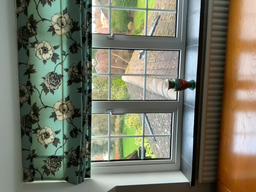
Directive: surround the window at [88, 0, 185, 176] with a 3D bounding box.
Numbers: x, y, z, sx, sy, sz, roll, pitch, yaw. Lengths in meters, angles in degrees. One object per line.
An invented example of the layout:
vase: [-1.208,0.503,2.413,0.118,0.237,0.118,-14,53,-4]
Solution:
window: [0.060,-0.110,1.790,0.100,0.770,1.570,-136,47,-79]
